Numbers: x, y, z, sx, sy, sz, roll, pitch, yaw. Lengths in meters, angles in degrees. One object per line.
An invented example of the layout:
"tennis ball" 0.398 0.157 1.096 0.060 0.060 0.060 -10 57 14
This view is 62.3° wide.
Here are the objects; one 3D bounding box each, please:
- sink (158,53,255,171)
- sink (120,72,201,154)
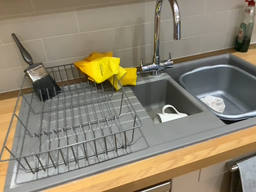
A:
"sink" 0.410 0.020 0.920 0.400 0.210 0.450 -13 33 -14
"sink" 0.110 0.050 0.850 0.200 0.150 0.290 -13 33 -14
